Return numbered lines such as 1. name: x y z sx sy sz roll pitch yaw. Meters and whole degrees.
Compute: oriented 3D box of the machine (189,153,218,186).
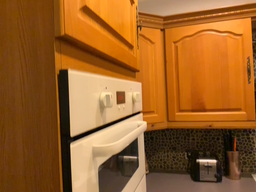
1. machine: 0.600 0.580 1.700 0.200 0.190 0.170 -2 0 17
